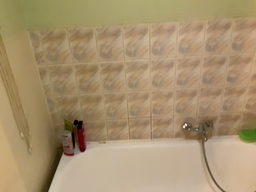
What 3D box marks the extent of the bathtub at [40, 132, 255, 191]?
[{"bbox_3d":[0.230,0.720,1.330,1.380,0.610,0.700,-3,26,0],"label":"bathtub"}]
